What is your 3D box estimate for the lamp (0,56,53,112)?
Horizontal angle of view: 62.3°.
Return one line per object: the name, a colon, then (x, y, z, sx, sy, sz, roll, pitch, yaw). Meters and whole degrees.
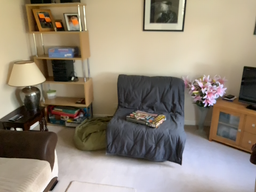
lamp: (-1.320, -0.170, 2.800, 0.410, 0.640, 0.410, 3, 20, 6)
